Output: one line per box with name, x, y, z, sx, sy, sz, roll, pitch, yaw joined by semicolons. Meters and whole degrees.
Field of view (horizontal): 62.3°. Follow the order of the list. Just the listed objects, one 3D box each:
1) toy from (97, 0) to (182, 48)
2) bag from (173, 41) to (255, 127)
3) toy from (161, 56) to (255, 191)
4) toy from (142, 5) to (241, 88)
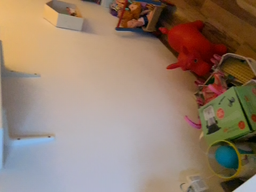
toy;0.080;-0.810;2.020;0.650;0.500;0.330;61;139;37
bag;0.590;-0.070;1.270;0.330;0.420;0.340;60;138;37
toy;0.620;0.140;1.020;0.390;0.690;0.460;61;139;36
toy;0.430;-0.350;1.550;0.510;0.370;0.330;61;139;36
